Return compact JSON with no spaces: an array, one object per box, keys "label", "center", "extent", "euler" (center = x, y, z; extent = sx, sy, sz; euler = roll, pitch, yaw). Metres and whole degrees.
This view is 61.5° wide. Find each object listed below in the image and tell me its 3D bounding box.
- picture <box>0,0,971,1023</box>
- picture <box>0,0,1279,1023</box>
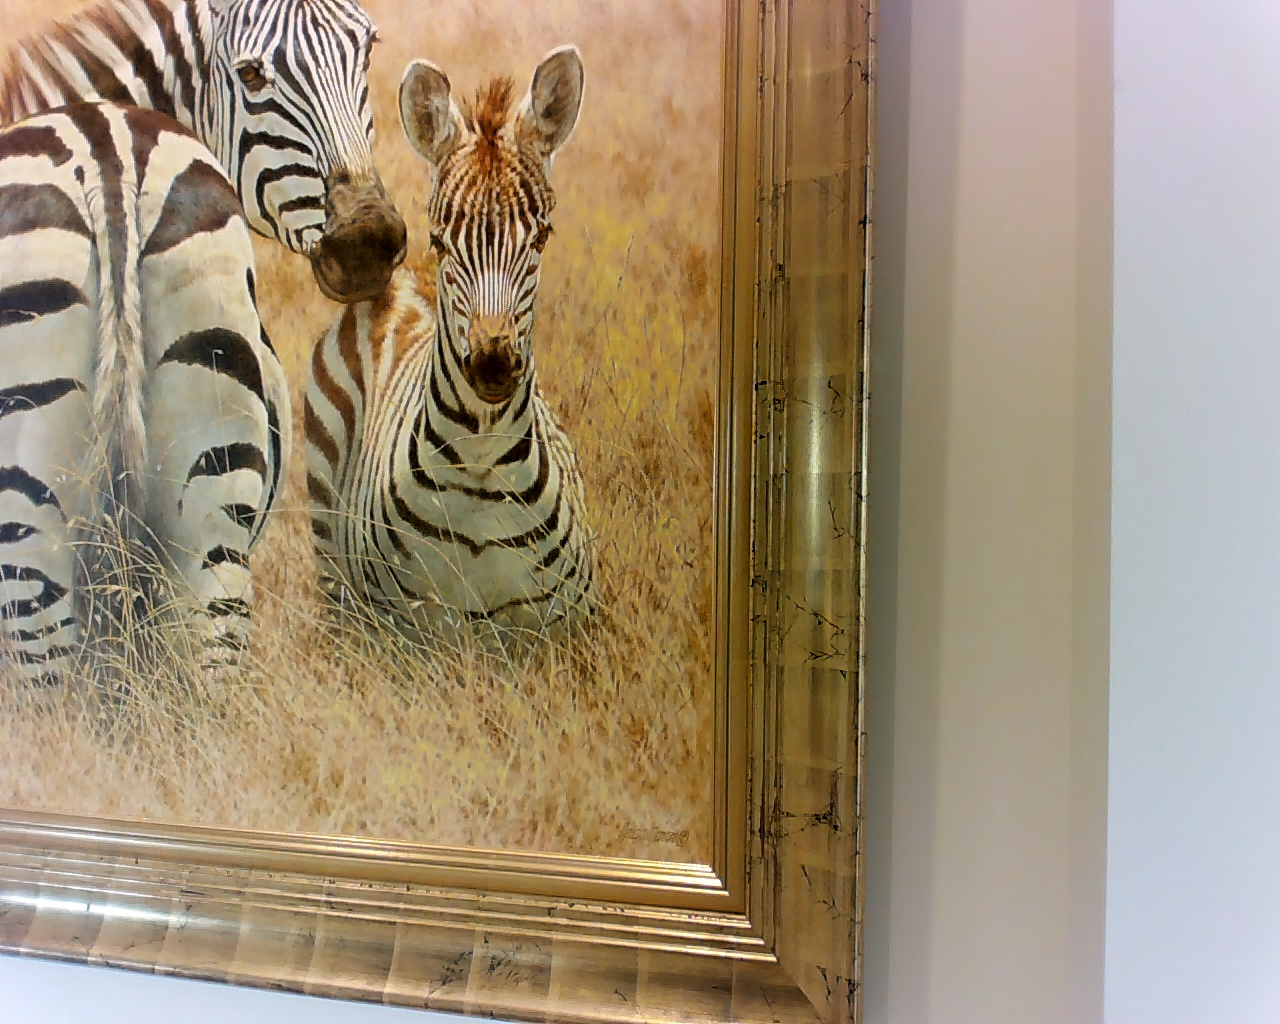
[{"label":"picture","center":[-0.340,-0.180,0.950],"extent":[1.200,1.240,0.120],"euler":[1,-1,13]},{"label":"picture","center":[-0.370,-0.180,0.930],"extent":[1.230,1.320,0.050],"euler":[-37,-8,10]}]
